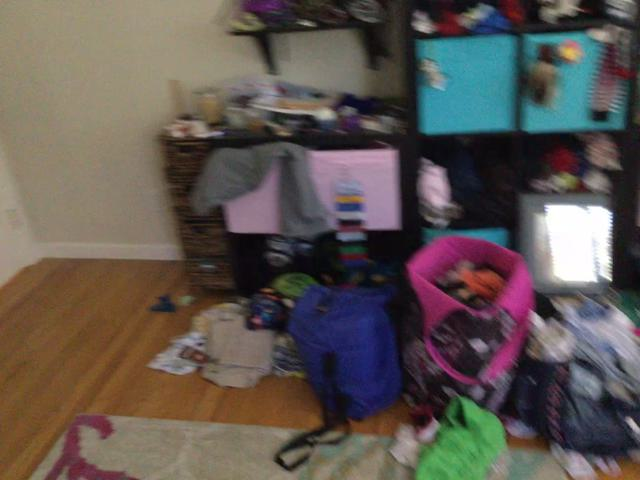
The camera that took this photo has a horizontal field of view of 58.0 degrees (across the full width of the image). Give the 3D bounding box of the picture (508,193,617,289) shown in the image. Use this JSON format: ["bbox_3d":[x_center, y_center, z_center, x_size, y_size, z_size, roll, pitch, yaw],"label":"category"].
[{"bbox_3d":[0.880,0.000,2.120,0.350,0.340,0.090,1,4,13],"label":"picture"}]
